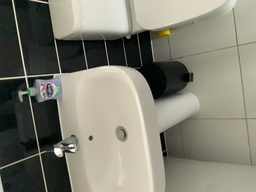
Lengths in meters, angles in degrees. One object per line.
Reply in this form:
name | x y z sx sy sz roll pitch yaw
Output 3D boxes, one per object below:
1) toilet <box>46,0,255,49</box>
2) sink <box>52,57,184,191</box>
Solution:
toilet | 0.150 -0.470 0.960 0.650 0.760 0.370 -4 96 40
sink | -0.050 0.150 0.820 0.420 0.200 0.530 -4 96 40
